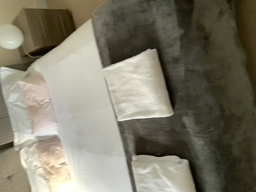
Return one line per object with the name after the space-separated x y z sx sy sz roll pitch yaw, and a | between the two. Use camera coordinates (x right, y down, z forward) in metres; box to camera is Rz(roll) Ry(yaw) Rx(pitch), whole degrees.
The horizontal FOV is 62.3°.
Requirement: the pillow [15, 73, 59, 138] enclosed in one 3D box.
-0.880 0.100 2.080 0.110 0.250 0.580 -10 66 47 | pillow

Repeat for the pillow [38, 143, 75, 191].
-0.710 0.710 2.130 0.120 0.290 0.460 -10 74 47 | pillow
